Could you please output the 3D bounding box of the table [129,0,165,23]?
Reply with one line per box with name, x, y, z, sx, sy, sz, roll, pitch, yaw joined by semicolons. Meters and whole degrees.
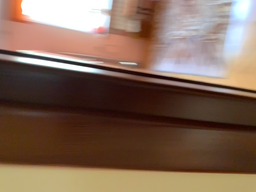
table;0.410;-2.010;3.980;0.490;0.500;1.090;-138;57;-72
